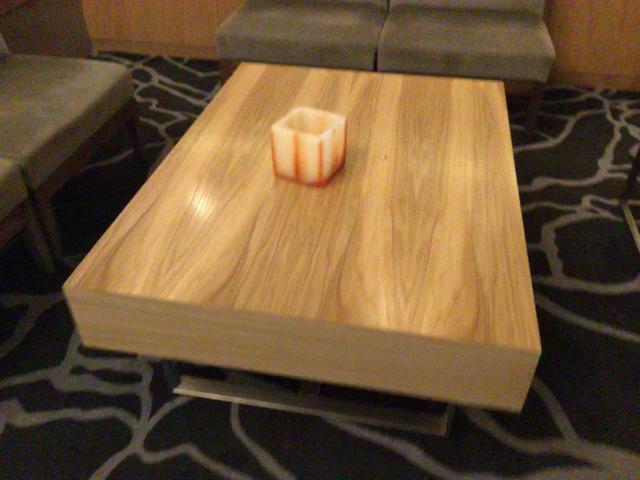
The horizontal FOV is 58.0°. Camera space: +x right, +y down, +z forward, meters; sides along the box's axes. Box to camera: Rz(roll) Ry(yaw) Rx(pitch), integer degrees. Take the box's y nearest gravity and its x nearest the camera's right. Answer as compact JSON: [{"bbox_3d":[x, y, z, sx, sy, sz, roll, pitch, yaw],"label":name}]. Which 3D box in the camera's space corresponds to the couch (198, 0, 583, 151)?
[{"bbox_3d":[0.290,-1.010,2.580,1.470,0.830,0.690,7,38,8],"label":"couch"}]

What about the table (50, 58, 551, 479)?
[{"bbox_3d":[0.050,-0.040,1.680,0.940,0.470,1.230,7,38,8],"label":"table"}]
